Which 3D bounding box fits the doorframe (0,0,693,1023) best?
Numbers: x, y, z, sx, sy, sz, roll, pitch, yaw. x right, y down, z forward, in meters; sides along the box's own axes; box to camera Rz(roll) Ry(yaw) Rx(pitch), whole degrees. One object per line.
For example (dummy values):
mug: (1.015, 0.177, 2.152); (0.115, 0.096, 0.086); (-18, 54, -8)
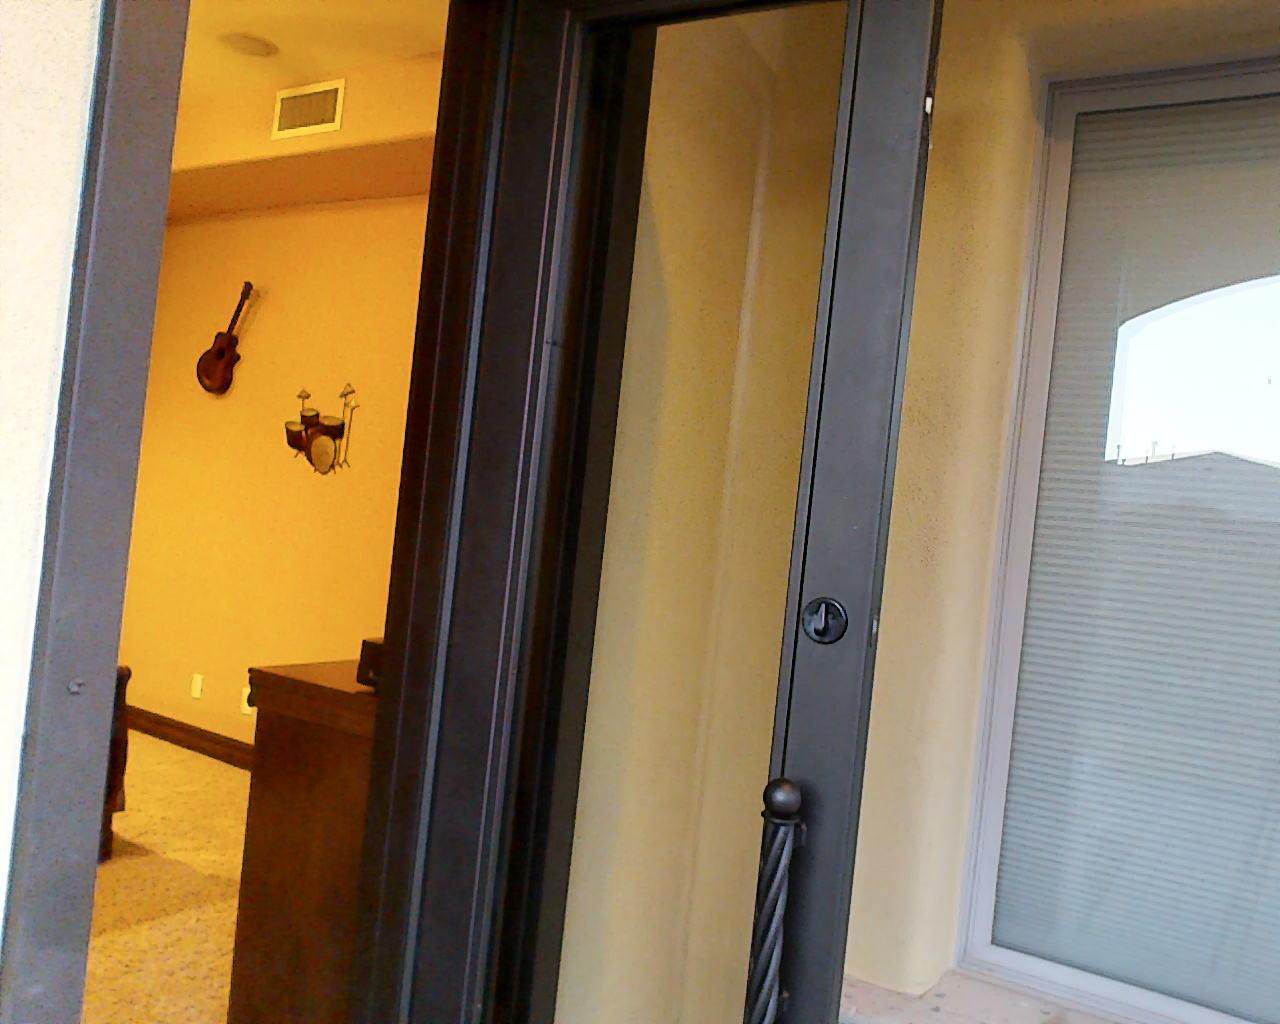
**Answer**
doorframe: (-0.520, 0.200, 1.500); (0.500, 2.530, 1.040); (6, -1, 32)
